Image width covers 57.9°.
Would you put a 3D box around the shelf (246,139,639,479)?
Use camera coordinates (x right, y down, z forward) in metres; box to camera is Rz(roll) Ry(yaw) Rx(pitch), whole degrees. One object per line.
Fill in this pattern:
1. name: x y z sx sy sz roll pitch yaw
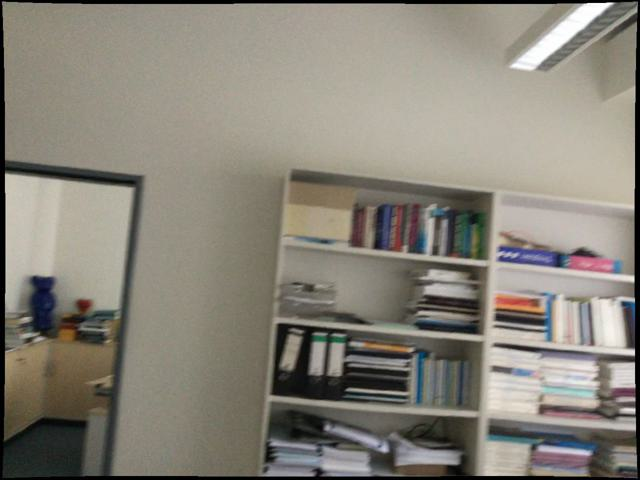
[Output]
1. shelf: 0.799 0.761 2.660 2.188 2.172 0.500 5 -1 -3
